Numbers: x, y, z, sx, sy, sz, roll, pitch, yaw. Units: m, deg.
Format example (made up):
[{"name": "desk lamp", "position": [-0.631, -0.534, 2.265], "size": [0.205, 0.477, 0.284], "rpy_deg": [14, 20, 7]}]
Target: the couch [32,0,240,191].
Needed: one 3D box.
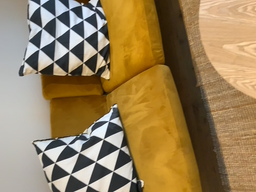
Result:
[{"name": "couch", "position": [-0.060, -0.090, 1.430], "size": [0.890, 0.760, 1.660], "rpy_deg": [-22, 74, 49]}]
